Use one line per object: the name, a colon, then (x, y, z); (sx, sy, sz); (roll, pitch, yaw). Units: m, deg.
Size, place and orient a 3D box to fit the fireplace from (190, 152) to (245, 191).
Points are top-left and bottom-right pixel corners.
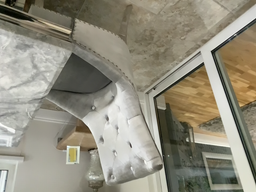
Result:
fireplace: (1.680, 1.430, 4.000); (0.940, 0.630, 0.300); (12, 147, -29)
